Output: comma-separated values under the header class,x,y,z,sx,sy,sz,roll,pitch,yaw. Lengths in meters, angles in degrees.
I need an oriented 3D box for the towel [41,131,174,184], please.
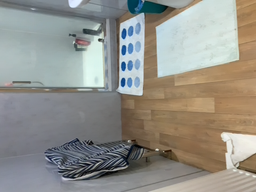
class,x,y,z,sx,sy,sz,roll,pitch,yaw
towel,-0.240,0.460,1.860,0.930,0.850,0.140,-5,87,60
